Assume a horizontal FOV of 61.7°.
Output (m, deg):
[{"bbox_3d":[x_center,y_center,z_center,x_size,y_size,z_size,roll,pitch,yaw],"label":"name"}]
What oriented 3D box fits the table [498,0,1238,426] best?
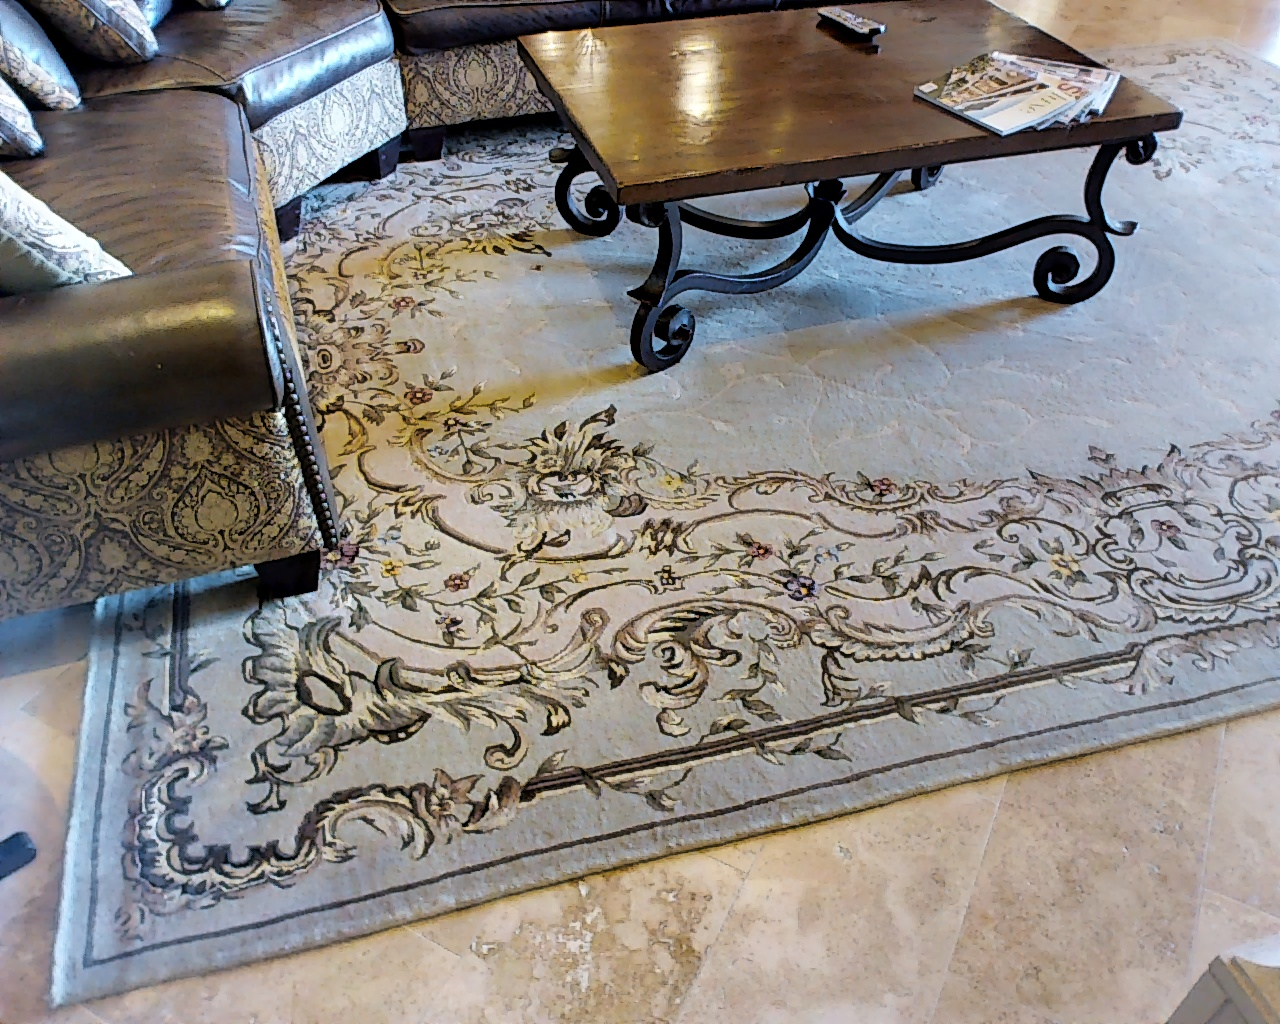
[{"bbox_3d":[0.500,-0.880,2.820,1.500,0.540,1.020,-13,44,-14],"label":"table"}]
